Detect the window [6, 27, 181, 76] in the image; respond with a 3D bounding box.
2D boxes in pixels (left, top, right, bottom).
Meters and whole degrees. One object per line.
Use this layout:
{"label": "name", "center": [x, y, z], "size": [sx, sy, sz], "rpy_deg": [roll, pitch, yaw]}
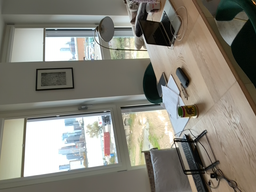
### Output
{"label": "window", "center": [-0.450, -0.720, 3.260], "size": [0.070, 2.480, 0.840], "rpy_deg": [109, 154, -59]}
